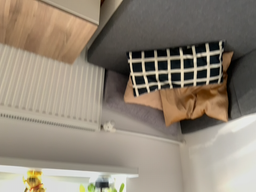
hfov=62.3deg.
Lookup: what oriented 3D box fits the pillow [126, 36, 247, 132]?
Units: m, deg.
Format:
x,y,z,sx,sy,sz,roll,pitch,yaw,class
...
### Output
x,y,z,sx,sy,sz,roll,pitch,yaw,class
0.340,-0.020,1.410,0.470,0.330,0.570,15,151,-29,pillow
